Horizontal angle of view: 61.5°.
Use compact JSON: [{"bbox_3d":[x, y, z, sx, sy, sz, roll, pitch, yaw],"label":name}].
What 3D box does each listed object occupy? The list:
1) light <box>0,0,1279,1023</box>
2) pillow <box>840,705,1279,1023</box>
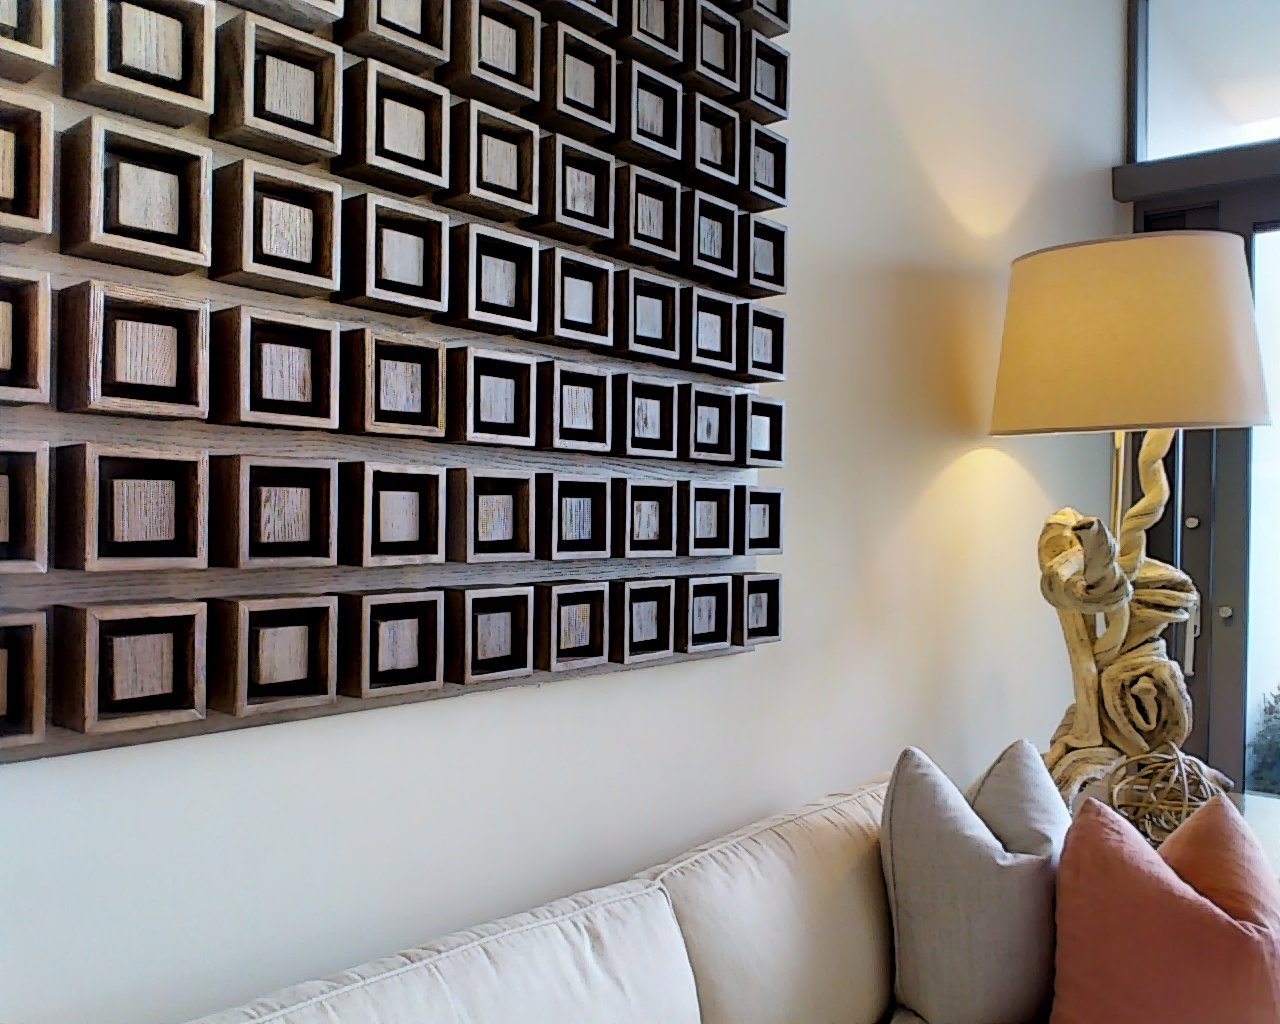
[{"bbox_3d":[-0.040,-0.400,1.340,0.670,3.360,6.620,1,0,41],"label":"light"},{"bbox_3d":[0.790,0.650,1.820,0.710,0.490,0.530,1,0,42],"label":"pillow"}]
